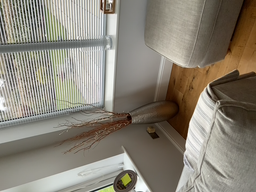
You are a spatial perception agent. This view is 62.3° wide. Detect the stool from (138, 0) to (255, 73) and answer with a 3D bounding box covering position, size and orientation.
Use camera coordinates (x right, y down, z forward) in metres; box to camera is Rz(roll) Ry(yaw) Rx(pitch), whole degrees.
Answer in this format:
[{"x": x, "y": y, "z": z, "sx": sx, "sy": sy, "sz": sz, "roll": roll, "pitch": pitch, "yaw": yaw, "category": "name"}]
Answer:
[{"x": 0.460, "y": -0.640, "z": 1.540, "sx": 0.630, "sy": 0.450, "sz": 0.710, "roll": 45, "pitch": 138, "yaw": 50, "category": "stool"}]
